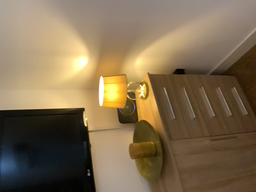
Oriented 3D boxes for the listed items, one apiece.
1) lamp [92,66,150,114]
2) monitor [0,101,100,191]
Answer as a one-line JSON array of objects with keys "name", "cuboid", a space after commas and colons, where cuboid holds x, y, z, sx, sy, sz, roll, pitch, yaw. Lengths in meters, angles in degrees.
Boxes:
[{"name": "lamp", "cuboid": [-0.060, -0.040, 1.510, 0.230, 0.320, 0.240, 124, 140, -53]}, {"name": "monitor", "cuboid": [-0.480, 0.470, 1.260, 0.070, 0.580, 0.960, 122, 141, -52]}]
